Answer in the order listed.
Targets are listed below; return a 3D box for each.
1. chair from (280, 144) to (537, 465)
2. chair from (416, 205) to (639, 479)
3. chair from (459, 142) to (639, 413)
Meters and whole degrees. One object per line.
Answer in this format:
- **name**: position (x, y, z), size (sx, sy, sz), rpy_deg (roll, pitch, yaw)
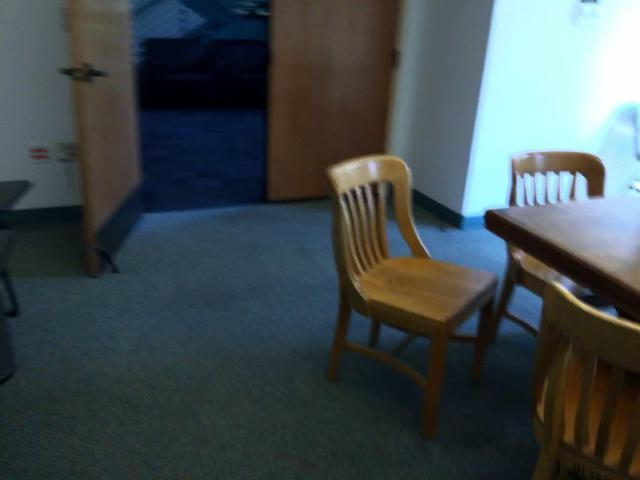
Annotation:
- **chair**: position (0.310, 0.160, 2.060), size (0.660, 0.830, 0.610), rpy_deg (12, 24, 28)
- **chair**: position (0.690, 0.420, 1.390), size (0.630, 0.800, 0.630), rpy_deg (-7, 23, -19)
- **chair**: position (0.960, 0.100, 2.230), size (0.520, 0.820, 0.580), rpy_deg (-7, 22, -19)
